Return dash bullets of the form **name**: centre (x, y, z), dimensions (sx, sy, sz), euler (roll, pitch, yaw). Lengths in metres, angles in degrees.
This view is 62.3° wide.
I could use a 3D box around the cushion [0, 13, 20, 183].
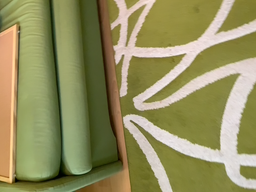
- **cushion**: centre (-0.590, 0.030, 0.900), dimensions (0.440, 0.010, 0.630), euler (-13, 80, 34)
